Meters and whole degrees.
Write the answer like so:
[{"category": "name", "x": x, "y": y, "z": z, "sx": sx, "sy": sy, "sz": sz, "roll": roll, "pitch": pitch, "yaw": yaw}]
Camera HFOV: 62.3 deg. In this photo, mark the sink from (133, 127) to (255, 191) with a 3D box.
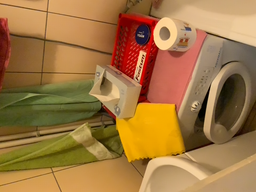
[{"category": "sink", "x": 0.220, "y": 0.350, "z": 0.620, "sx": 0.420, "sy": 0.160, "sz": 0.320, "roll": 39, "pitch": 122, "yaw": 44}]
